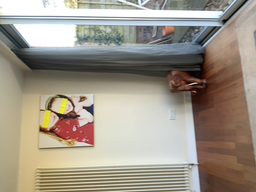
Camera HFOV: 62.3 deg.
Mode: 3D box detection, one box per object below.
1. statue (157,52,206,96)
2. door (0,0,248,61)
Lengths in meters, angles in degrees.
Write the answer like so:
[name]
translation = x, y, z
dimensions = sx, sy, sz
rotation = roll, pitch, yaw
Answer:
[statue]
translation = 0.700, -0.310, 2.900
dimensions = 0.570, 0.460, 0.330
rotation = -97, 8, -48
[door]
translation = 0.080, -1.210, 0.380
dimensions = 6.690, 2.440, 0.120
rotation = 121, 148, -79
